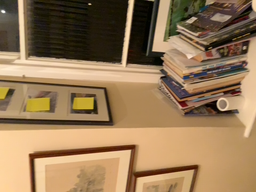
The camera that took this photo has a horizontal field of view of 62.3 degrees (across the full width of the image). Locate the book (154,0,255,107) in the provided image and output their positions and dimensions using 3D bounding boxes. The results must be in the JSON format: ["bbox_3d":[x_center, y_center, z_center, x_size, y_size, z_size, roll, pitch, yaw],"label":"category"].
[{"bbox_3d":[0.310,-0.240,0.920,0.280,0.220,0.500,-126,41,-62],"label":"book"}]
